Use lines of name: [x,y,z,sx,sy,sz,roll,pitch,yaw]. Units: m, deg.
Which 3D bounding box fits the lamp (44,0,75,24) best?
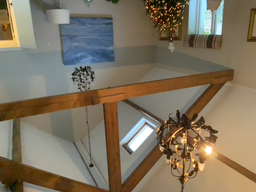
lamp: [-1.360,-1.790,4.150,0.470,0.700,0.520,-9,-161,-23]
